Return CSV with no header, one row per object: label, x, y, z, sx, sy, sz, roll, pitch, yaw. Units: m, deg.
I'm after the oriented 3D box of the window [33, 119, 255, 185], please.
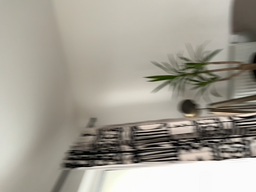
window,0.700,0.390,1.640,0.330,2.760,0.240,-84,-12,-70
